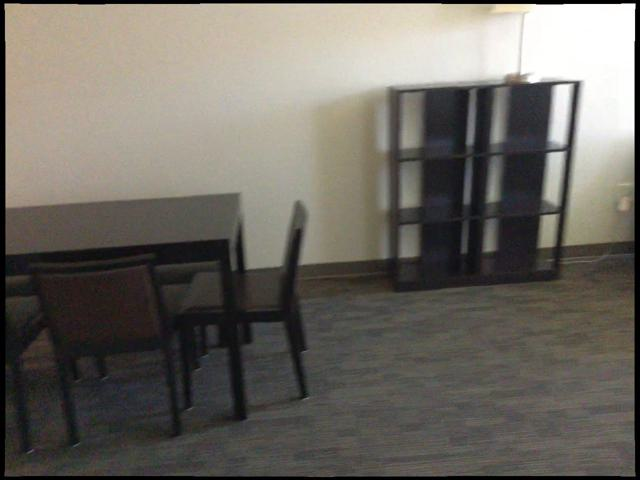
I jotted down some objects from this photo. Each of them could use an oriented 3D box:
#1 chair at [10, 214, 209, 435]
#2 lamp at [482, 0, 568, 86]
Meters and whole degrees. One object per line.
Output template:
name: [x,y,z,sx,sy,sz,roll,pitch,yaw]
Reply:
chair: [-0.818,0.331,2.420,0.549,0.721,0.520,-4,20,-1]
lamp: [1.138,-1.202,3.230,0.329,0.611,0.360,-4,20,-1]
